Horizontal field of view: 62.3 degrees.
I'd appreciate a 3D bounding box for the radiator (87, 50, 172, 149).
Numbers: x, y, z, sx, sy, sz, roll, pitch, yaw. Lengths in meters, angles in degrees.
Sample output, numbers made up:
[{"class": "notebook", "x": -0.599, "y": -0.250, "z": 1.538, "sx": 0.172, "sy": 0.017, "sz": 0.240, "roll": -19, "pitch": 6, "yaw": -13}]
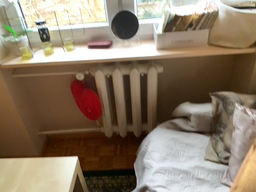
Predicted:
[{"class": "radiator", "x": 0.030, "y": 0.050, "z": 1.540, "sx": 0.500, "sy": 0.690, "sz": 0.250, "roll": -2, "pitch": 35, "yaw": 3}]
